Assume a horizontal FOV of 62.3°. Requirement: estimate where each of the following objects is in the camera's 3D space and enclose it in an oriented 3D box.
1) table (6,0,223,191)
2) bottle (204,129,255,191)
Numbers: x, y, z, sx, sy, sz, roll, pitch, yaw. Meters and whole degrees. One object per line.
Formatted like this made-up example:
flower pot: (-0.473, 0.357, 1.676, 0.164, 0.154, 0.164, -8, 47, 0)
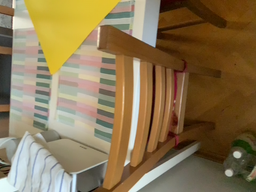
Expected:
table: (-0.040, -0.300, 1.160, 0.810, 0.770, 1.220, 11, 97, 35)
bottle: (0.580, 0.310, 0.950, 0.350, 0.300, 0.180, 15, 100, 34)
